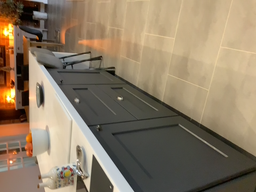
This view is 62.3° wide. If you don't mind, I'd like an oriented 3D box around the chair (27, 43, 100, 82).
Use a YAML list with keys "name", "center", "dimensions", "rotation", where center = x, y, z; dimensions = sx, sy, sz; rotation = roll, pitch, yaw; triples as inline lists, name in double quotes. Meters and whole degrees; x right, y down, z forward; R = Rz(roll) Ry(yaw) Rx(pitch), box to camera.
- name: "chair"
  center: [-0.940, -0.480, 3.080]
  dimensions: [0.450, 0.920, 0.410]
  rotation: [41, 127, 50]

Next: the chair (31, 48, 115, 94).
- name: "chair"
  center: [-0.710, -0.330, 2.720]
  dimensions: [0.450, 0.920, 0.410]
  rotation: [41, 127, 50]
